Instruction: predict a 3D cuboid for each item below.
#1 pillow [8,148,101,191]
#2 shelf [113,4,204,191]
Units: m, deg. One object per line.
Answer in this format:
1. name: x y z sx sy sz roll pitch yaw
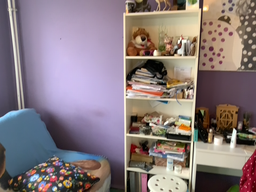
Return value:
1. pillow: -0.570 0.630 1.710 0.510 0.140 0.480 7 13 27
2. shelf: 0.250 0.170 1.960 0.700 1.820 0.280 4 12 15
